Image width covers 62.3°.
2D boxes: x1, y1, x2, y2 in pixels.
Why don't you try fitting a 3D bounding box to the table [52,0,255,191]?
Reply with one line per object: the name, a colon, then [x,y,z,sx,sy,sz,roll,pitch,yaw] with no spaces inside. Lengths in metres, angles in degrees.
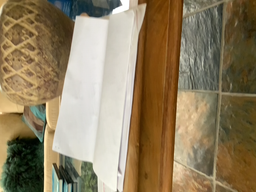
table: [0.040,-0.040,0.760,0.780,0.460,1.390,12,99,63]
